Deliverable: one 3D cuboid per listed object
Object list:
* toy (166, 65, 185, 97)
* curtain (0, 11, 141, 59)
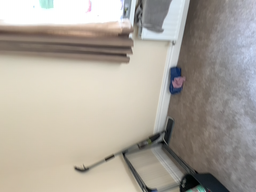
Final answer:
[{"bbox_3d":[0.560,-0.180,2.540,0.200,0.080,0.350,-147,57,-61],"label":"toy"},{"bbox_3d":[-0.580,-0.520,1.910,0.180,1.470,0.350,-153,62,-63],"label":"curtain"}]
